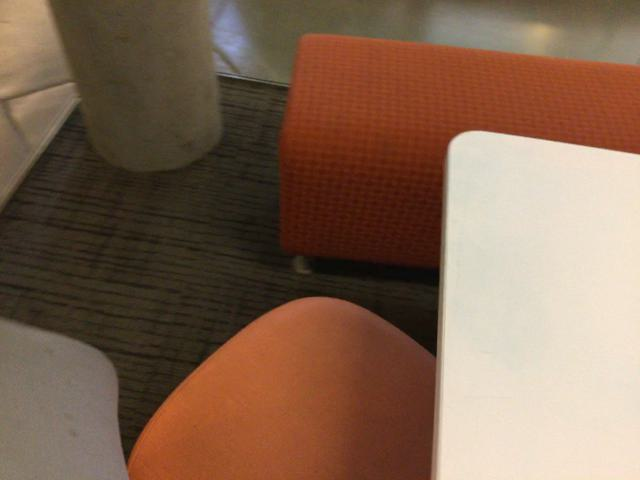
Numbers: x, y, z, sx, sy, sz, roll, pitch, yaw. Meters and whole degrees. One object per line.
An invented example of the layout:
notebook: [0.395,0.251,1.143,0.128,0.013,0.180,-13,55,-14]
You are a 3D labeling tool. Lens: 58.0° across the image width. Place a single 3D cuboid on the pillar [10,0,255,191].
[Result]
pillar: [-0.470,-0.650,1.470,0.500,1.000,0.400,-9,51,-10]
